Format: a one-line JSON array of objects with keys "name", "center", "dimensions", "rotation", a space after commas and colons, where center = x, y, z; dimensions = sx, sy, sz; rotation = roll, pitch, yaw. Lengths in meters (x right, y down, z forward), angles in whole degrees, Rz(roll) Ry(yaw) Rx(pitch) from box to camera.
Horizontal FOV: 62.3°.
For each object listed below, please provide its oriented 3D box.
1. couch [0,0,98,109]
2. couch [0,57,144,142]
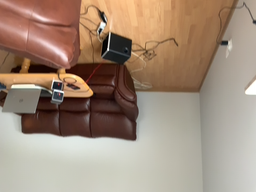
[{"name": "couch", "center": [-0.840, -0.580, 1.330], "dimensions": [1.150, 0.940, 0.950], "rotation": [11, 159, -18]}, {"name": "couch", "center": [-0.850, 0.110, 3.280], "dimensions": [2.050, 0.940, 1.050], "rotation": [0, 161, 12]}]
